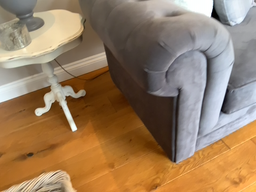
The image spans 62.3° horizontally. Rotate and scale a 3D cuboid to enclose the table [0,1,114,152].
[{"bbox_3d":[-0.440,-0.130,1.250,0.490,0.590,0.500,-21,44,-15],"label":"table"}]
